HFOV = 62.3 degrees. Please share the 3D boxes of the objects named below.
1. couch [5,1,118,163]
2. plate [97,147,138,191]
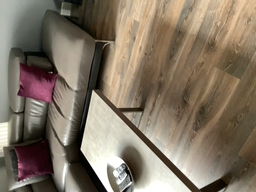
[{"bbox_3d":[-0.870,-0.210,2.430,1.140,0.720,1.310,41,126,39],"label":"couch"},{"bbox_3d":[-0.090,0.580,1.500,0.320,0.050,0.290,47,129,36],"label":"plate"}]
